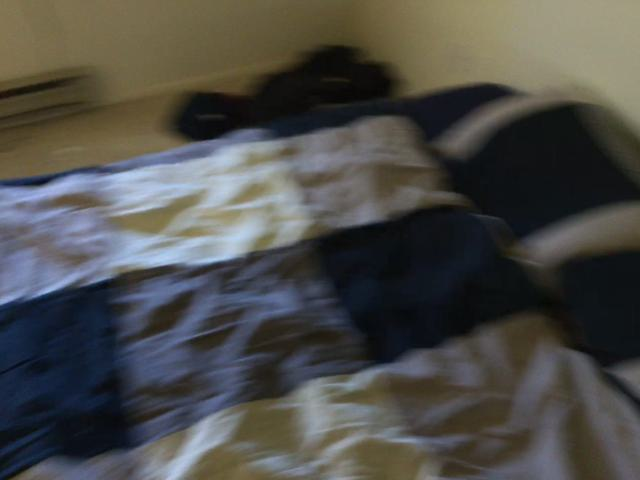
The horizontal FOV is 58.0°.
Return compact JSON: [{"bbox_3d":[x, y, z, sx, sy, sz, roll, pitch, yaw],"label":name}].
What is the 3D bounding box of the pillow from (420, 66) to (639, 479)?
[{"bbox_3d":[0.650,0.080,1.180,0.460,0.190,1.460,-5,44,-9],"label":"pillow"}]
